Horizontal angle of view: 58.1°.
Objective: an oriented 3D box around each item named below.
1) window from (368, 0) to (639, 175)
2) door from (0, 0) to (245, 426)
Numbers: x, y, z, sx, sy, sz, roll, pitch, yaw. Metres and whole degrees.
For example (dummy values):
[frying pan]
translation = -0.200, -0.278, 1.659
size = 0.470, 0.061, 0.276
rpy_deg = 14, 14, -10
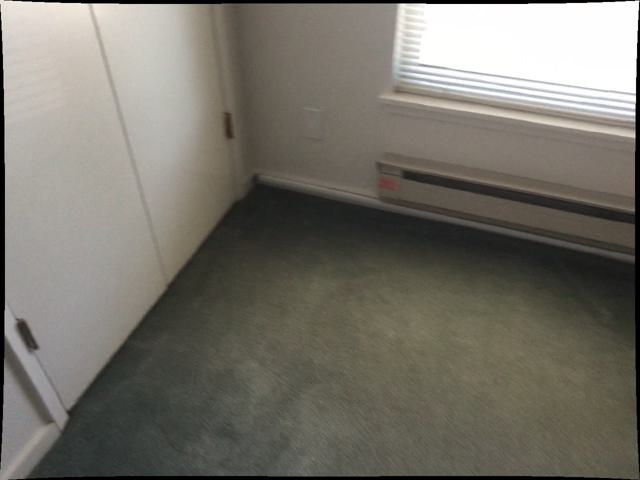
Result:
[window]
translation = 0.639, -0.591, 1.460
size = 0.969, 0.761, 0.200
rpy_deg = 15, 45, 14
[door]
translation = -0.479, -0.641, 1.050
size = 0.080, 2.072, 1.031
rpy_deg = 15, 45, 14
